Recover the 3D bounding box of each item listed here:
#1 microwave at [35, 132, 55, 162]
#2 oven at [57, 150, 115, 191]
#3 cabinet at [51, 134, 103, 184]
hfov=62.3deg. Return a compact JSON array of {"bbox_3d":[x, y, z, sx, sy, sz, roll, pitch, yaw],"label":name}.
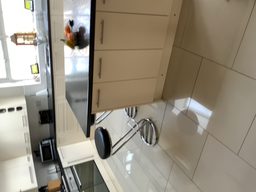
[{"bbox_3d":[-1.840,1.120,4.700,0.450,0.340,0.380,56,143,38],"label":"microwave"},{"bbox_3d":[-0.810,1.570,4.070,0.590,0.920,0.590,44,134,49],"label":"oven"},{"bbox_3d":[-1.080,1.310,4.500,0.560,0.910,0.580,44,134,49],"label":"cabinet"}]
